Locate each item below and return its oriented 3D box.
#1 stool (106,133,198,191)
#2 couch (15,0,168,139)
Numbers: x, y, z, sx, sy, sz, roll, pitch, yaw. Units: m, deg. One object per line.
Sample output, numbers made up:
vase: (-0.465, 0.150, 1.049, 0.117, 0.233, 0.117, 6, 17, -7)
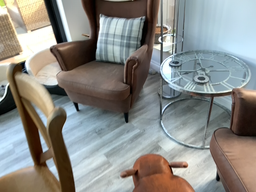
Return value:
stool: (0.130, 0.590, 1.080, 0.390, 0.380, 0.650, -9, 38, -4)
couch: (-0.180, -0.390, 1.910, 0.780, 0.980, 0.930, 14, 42, 24)
